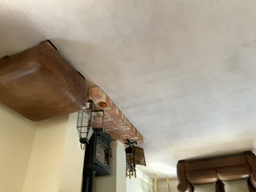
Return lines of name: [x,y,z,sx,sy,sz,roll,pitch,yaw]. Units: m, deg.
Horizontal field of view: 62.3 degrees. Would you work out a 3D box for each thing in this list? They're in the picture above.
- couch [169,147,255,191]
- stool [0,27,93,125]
couch: [1.750,1.690,4.180,1.570,0.880,0.920,-13,144,18]
stool: [-0.790,-0.120,1.880,0.670,0.390,0.680,-13,144,17]
